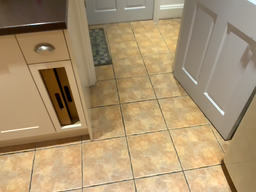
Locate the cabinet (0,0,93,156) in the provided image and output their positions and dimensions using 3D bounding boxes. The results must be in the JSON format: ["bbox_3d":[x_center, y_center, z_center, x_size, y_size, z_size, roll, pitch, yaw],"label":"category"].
[{"bbox_3d":[-0.610,-0.160,1.350,0.630,0.920,0.590,-7,46,-7],"label":"cabinet"}]
